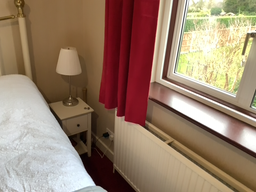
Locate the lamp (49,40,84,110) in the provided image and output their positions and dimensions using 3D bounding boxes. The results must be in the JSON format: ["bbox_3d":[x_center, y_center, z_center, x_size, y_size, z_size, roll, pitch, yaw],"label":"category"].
[{"bbox_3d":[-0.560,-0.200,1.960,0.180,0.560,0.280,-16,31,-37],"label":"lamp"}]
